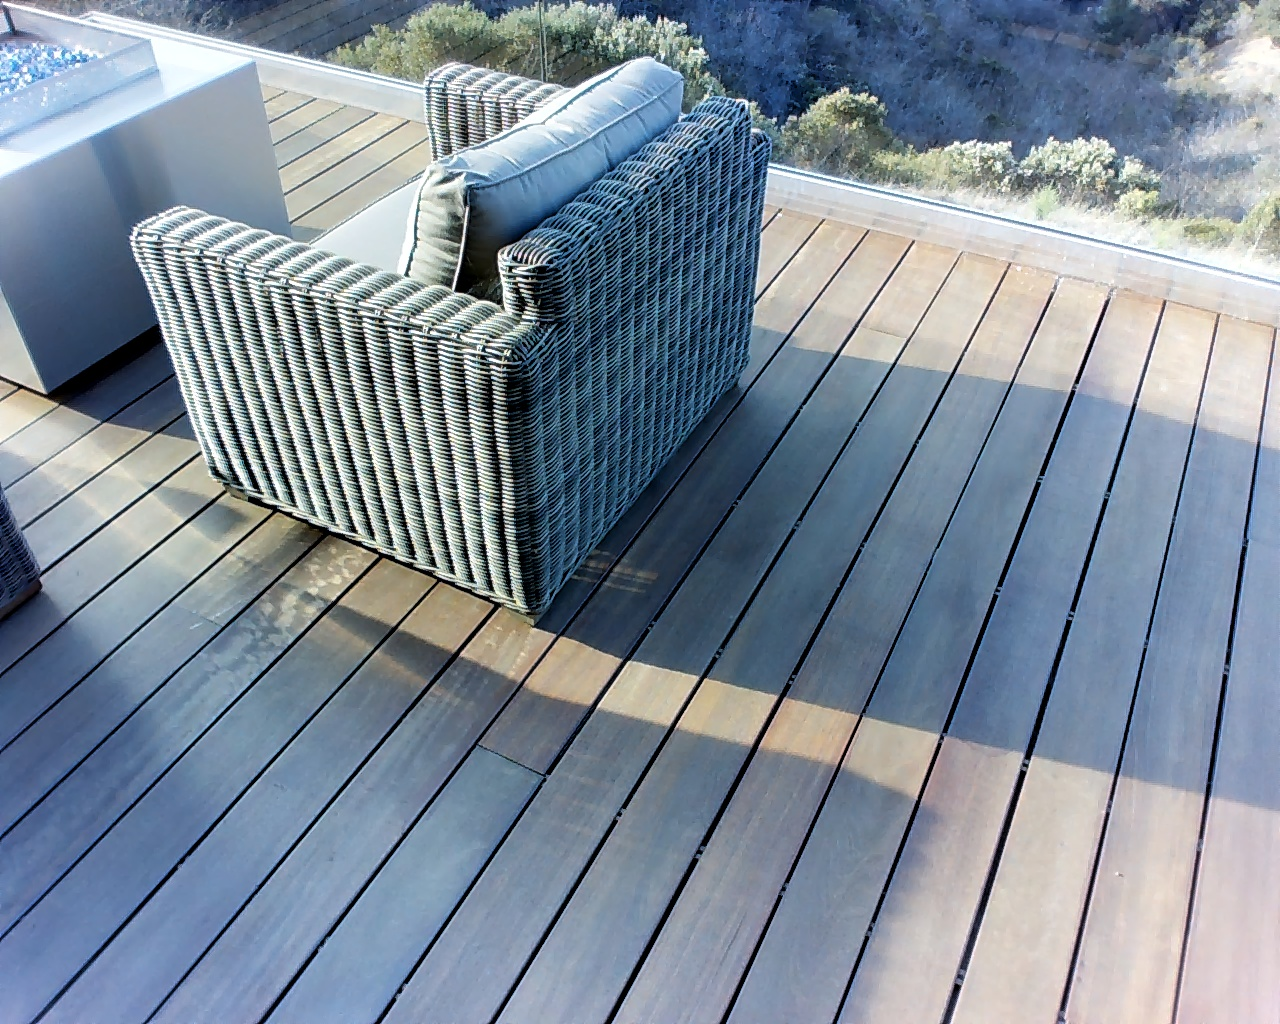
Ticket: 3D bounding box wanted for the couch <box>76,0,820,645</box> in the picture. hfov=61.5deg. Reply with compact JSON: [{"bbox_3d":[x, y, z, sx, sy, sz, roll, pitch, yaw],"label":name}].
[{"bbox_3d":[-0.290,-0.520,2.280,0.910,0.830,1.090,20,45,20],"label":"couch"}]
